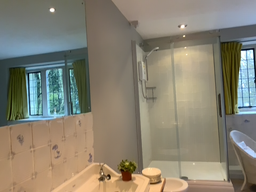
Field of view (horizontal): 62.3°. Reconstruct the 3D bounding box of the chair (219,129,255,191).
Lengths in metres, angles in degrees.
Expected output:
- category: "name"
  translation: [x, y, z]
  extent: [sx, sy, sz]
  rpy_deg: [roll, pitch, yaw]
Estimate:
- category: "chair"
  translation: [1.770, 0.890, 2.990]
  extent: [0.640, 0.700, 0.660]
  rpy_deg: [-3, -1, -44]
